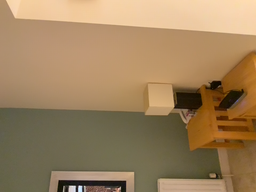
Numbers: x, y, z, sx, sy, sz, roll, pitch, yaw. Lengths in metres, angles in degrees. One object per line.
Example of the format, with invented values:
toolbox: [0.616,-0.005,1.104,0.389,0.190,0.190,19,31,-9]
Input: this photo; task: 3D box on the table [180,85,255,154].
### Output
table: [0.930,0.280,2.200,0.650,0.550,0.500,104,168,-64]
